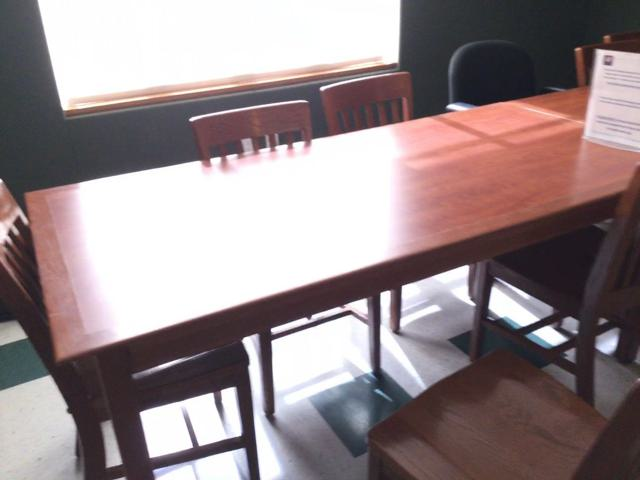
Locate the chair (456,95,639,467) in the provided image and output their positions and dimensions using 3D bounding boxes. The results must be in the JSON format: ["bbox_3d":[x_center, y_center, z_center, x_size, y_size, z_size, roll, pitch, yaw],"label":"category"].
[{"bbox_3d":[0.830,0.080,1.770,0.520,0.870,0.570,-16,29,-24],"label":"chair"}]

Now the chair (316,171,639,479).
[{"bbox_3d":[0.410,0.420,1.130,0.580,0.880,0.580,-16,29,-24],"label":"chair"}]

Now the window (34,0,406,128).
[{"bbox_3d":[-0.400,-1.410,2.670,1.800,1.450,0.230,-16,29,-24],"label":"window"}]

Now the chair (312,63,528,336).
[{"bbox_3d":[0.380,-0.200,2.370,0.580,0.880,0.560,-16,29,-24],"label":"chair"}]

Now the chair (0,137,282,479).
[{"bbox_3d":[-0.490,0.270,1.510,0.550,0.890,0.500,-16,29,-24],"label":"chair"}]

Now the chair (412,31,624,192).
[{"bbox_3d":[0.880,-0.630,2.680,0.670,0.530,0.580,-16,29,-24],"label":"chair"}]

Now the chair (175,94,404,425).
[{"bbox_3d":[-0.090,0.030,1.960,0.520,0.880,0.530,-16,29,-24],"label":"chair"}]
